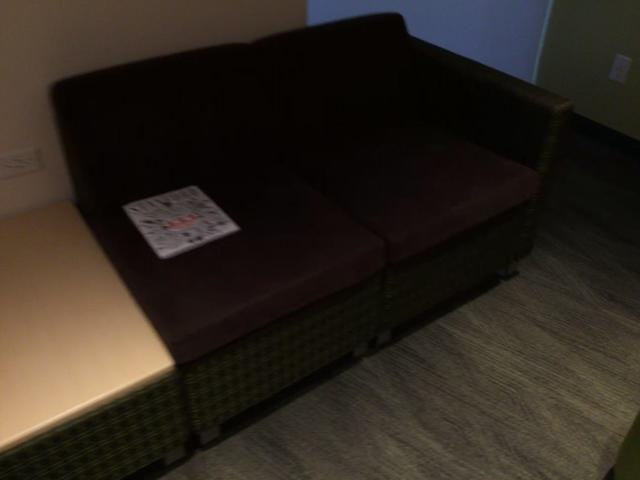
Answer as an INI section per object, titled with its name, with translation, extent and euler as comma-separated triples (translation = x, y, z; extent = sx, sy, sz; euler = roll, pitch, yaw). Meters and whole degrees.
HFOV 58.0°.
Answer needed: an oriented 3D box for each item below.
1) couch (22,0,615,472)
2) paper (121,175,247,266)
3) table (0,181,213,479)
[couch]
translation = 0.000, -0.160, 1.720
extent = 1.290, 0.770, 0.810
euler = -22, 43, -25
[paper]
translation = -0.350, -0.060, 1.470
extent = 0.220, 0.030, 0.280
euler = -22, 43, -25
[table]
translation = -0.810, 0.330, 1.370
extent = 0.800, 0.420, 0.780
euler = -22, 43, -25
